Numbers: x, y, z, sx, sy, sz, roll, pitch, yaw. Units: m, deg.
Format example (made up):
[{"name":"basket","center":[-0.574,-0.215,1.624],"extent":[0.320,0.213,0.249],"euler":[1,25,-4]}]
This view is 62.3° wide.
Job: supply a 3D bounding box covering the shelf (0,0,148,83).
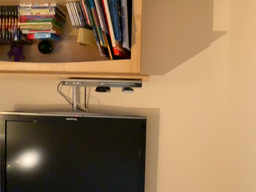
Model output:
[{"name":"shelf","center":[-0.380,-0.670,1.130],"extent":[0.970,1.160,0.450],"euler":[2,-178,3]}]
